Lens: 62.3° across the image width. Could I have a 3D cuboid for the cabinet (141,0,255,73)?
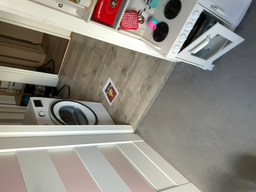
[{"bbox_3d":[0.470,-0.520,1.360,0.270,0.490,0.620,50,122,41],"label":"cabinet"}]
